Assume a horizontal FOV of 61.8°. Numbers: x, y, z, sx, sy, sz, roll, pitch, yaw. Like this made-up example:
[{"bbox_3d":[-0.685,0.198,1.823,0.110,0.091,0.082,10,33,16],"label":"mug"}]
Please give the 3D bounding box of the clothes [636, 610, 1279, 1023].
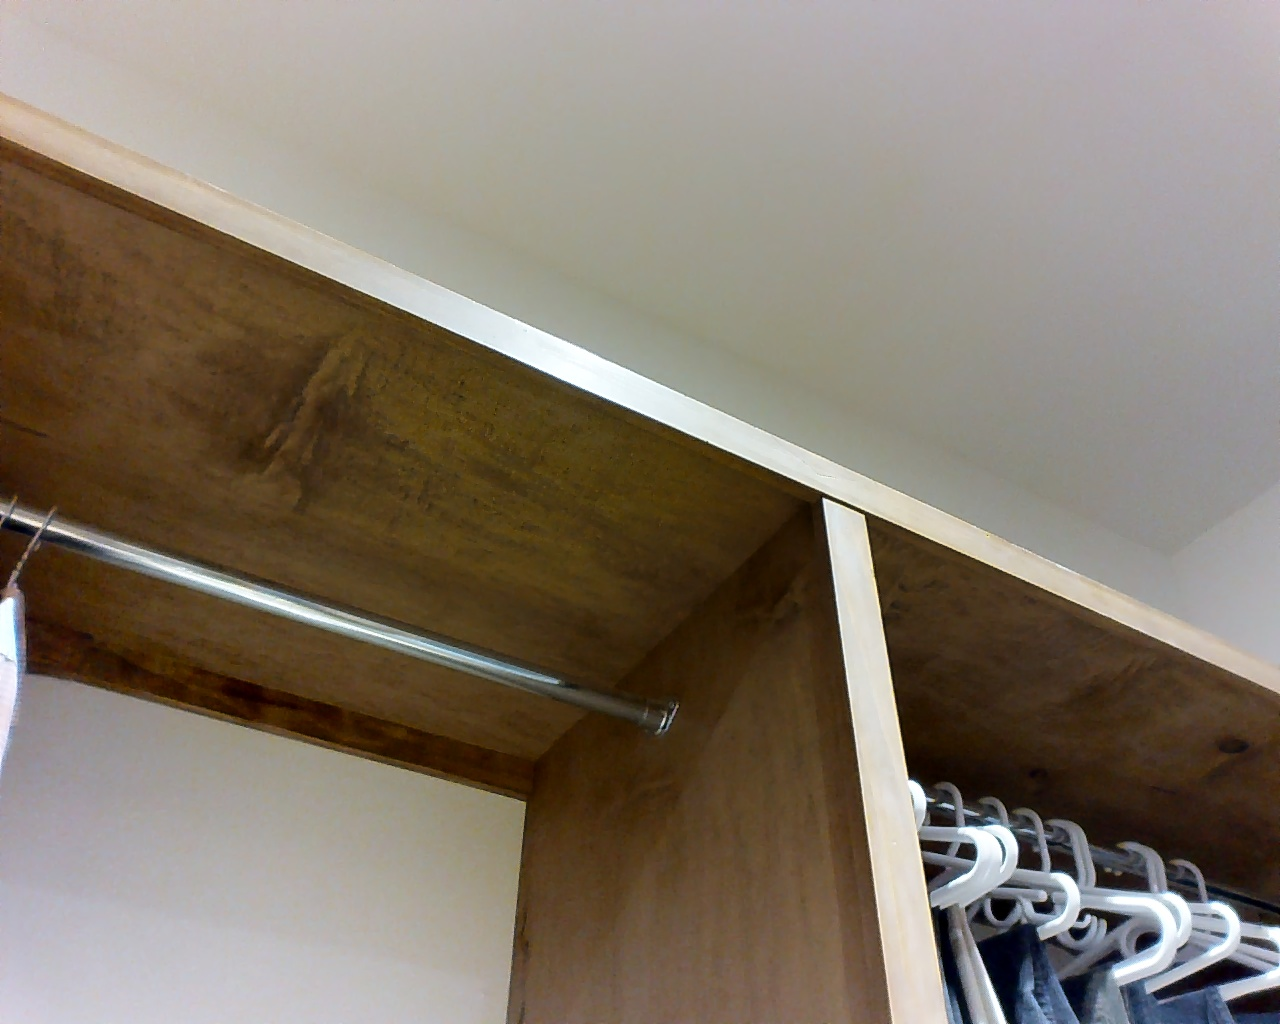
[{"bbox_3d":[0.440,0.660,0.910,0.810,0.880,0.380,22,-45,-22],"label":"clothes"}]
